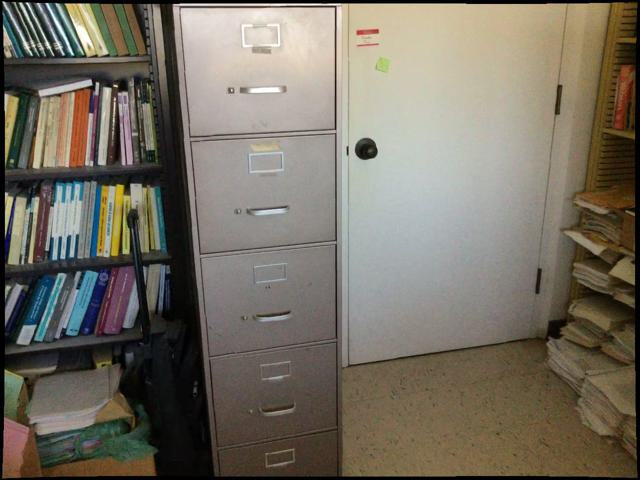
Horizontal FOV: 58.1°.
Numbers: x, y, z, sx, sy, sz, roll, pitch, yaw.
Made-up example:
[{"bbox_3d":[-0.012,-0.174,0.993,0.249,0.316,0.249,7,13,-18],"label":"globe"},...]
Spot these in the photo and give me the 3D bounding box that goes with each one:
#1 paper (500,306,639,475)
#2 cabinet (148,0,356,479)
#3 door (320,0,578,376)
[{"bbox_3d":[1.147,0.571,2.320,0.339,0.190,0.940,-6,20,-15],"label":"paper"},{"bbox_3d":[-0.209,0.050,1.760,0.449,1.554,0.600,-6,20,-15],"label":"cabinet"},{"bbox_3d":[0.519,-0.501,2.340,1.048,2.195,0.070,-6,20,-15],"label":"door"}]
